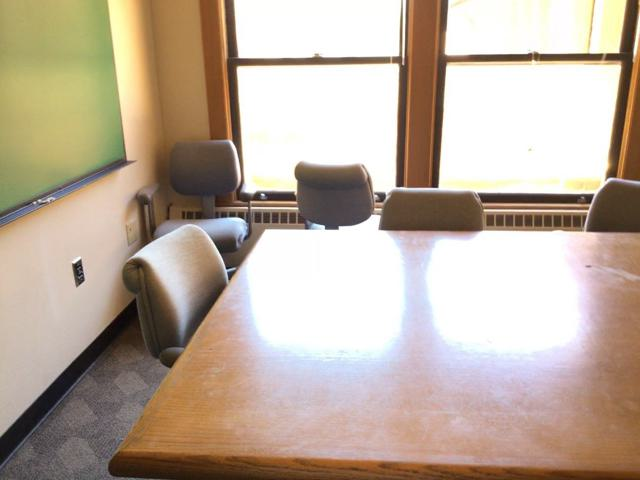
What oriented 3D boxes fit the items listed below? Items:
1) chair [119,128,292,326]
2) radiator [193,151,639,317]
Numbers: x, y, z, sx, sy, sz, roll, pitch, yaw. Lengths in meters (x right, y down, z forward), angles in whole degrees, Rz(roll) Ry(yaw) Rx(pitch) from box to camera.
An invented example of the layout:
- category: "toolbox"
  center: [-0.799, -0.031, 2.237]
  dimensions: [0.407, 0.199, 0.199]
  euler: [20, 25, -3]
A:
- category: "chair"
  center: [-0.560, -0.090, 3.090]
  dimensions: [0.590, 0.890, 0.600]
  euler: [-5, 15, 11]
- category: "radiator"
  center: [0.620, -0.010, 3.230]
  dimensions: [2.640, 0.700, 0.140]
  euler: [-5, 15, 11]
